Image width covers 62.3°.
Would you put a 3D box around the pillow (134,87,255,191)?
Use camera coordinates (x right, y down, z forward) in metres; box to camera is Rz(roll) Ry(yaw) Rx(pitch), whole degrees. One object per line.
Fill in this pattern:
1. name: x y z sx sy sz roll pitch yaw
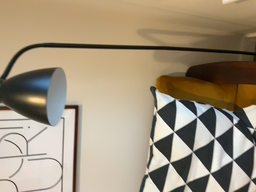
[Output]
1. pillow: 0.340 0.300 0.980 0.290 0.570 0.620 -27 -58 -78
